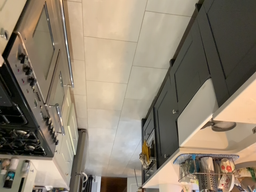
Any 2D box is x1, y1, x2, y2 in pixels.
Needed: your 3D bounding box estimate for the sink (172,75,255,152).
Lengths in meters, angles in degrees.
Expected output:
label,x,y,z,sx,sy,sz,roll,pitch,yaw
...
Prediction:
label,x,y,z,sx,sy,sz,roll,pitch,yaw
sink,0.600,0.150,1.360,0.450,0.230,0.560,5,148,-7
